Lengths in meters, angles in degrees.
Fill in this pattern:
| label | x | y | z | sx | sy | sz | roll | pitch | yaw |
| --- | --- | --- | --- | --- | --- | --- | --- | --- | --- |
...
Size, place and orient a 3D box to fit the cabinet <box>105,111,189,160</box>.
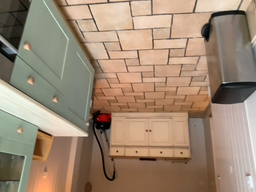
| label | x | y | z | sx | sy | sz | roll | pitch | yaw |
| --- | --- | --- | --- | --- | --- | --- | --- | --- | --- |
| cabinet | 0.390 | 0.820 | 4.390 | 1.580 | 0.900 | 0.490 | -1 | 159 | 8 |
